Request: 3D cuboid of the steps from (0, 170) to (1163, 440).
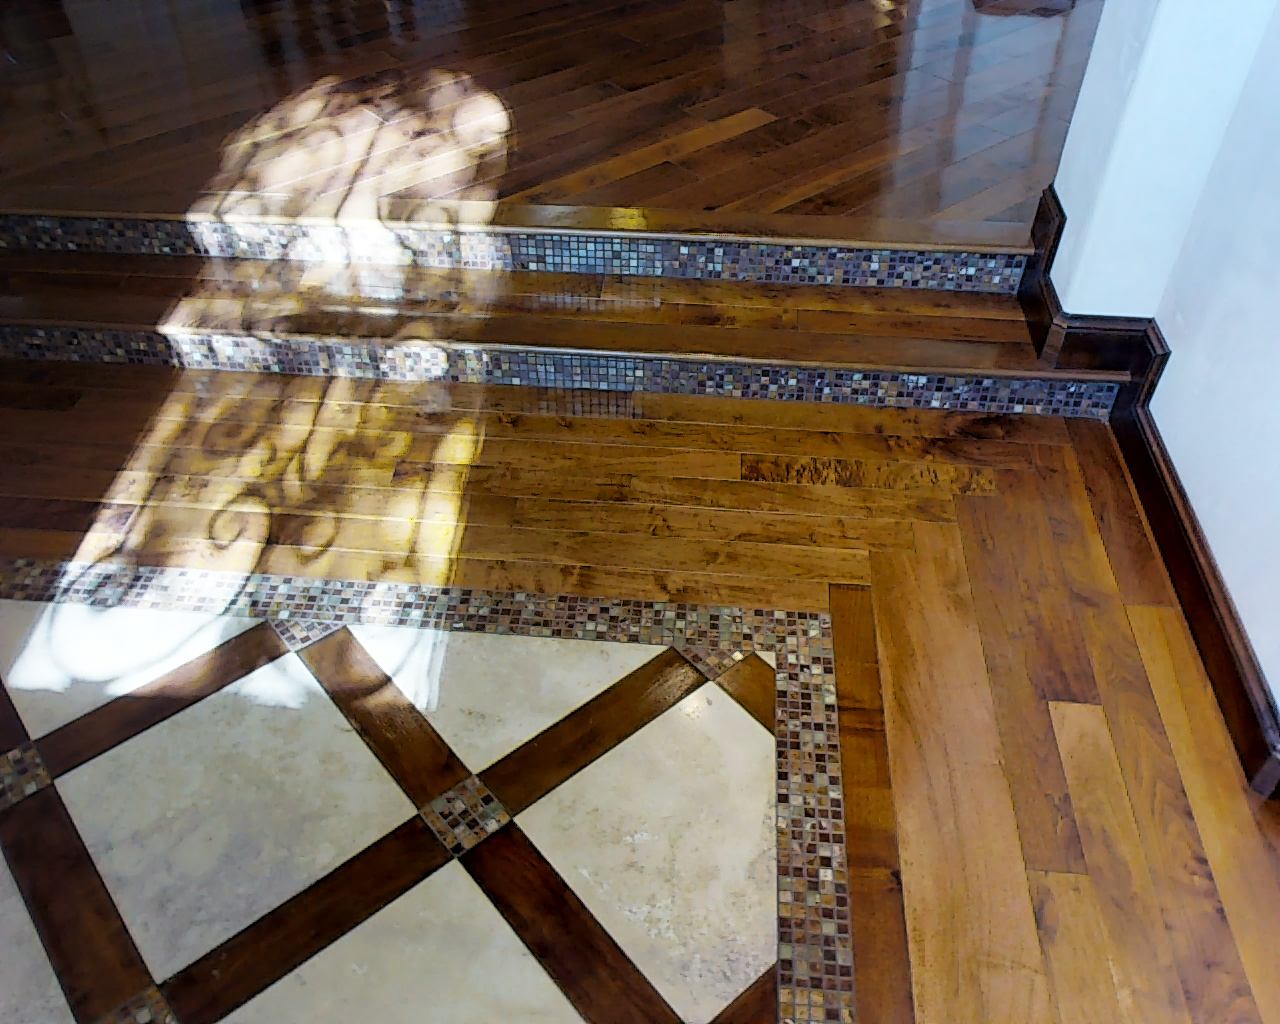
[{"bbox_3d":[-0.570,-0.550,2.710,3.470,0.390,0.370,4,43,3],"label":"steps"}]
